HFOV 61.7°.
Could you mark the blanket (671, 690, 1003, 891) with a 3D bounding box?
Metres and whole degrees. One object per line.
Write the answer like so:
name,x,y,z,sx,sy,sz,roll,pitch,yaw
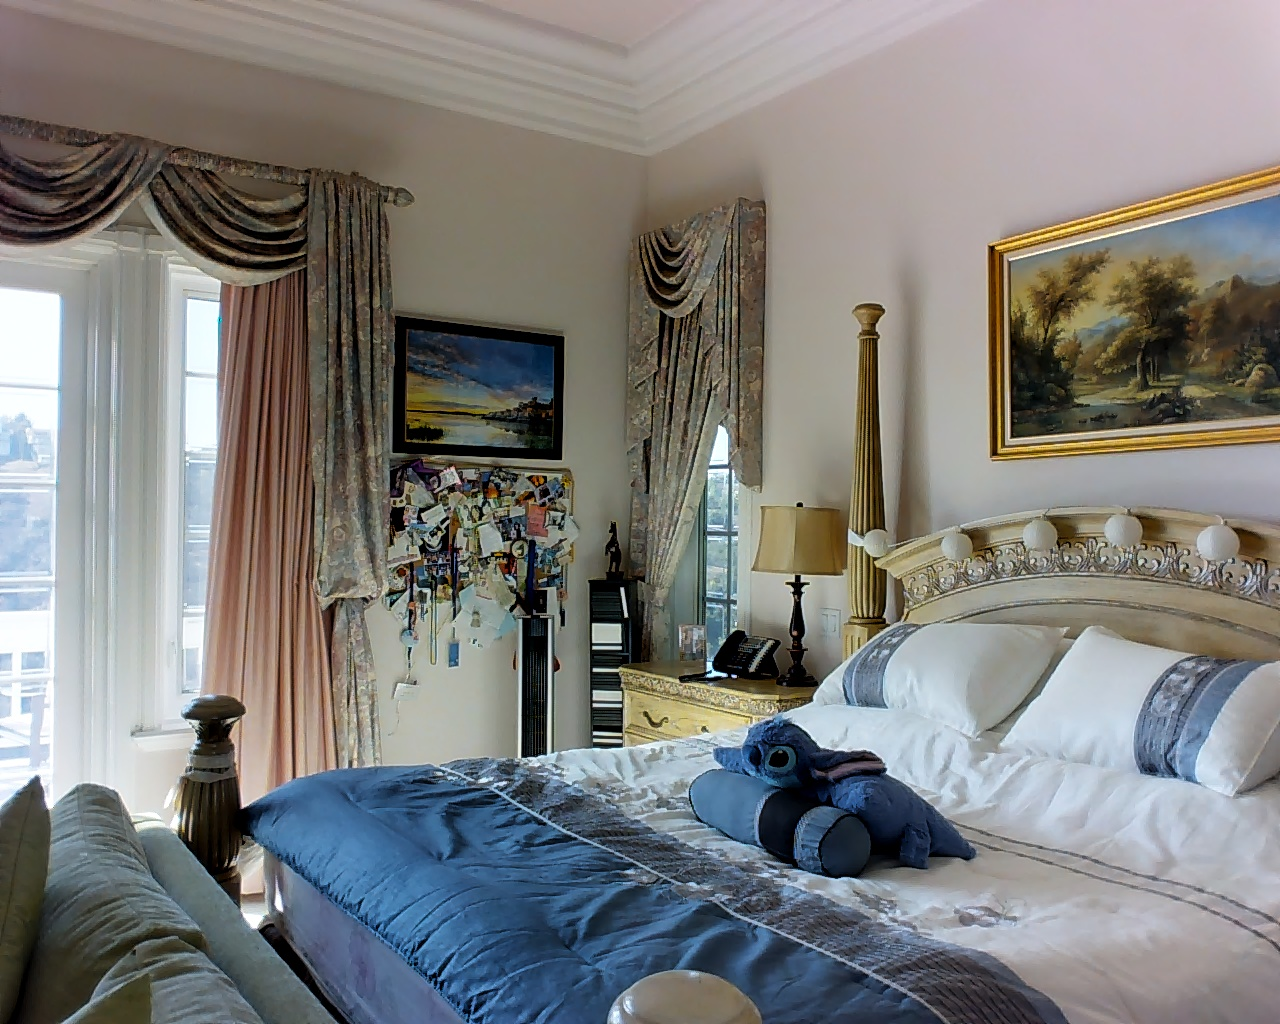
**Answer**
blanket,0.420,0.590,2.400,0.480,0.260,0.570,0,0,-29
